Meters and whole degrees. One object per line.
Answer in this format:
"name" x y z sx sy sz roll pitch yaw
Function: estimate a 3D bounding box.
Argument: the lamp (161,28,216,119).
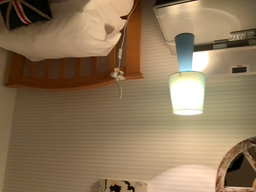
"lamp" 0.300 -0.080 1.050 0.210 0.350 0.330 -3 166 19

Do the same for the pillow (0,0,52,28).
"pillow" -0.520 -0.480 1.030 0.240 0.270 0.110 3 -164 17
